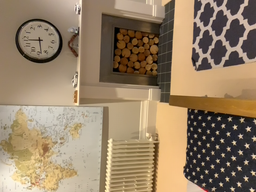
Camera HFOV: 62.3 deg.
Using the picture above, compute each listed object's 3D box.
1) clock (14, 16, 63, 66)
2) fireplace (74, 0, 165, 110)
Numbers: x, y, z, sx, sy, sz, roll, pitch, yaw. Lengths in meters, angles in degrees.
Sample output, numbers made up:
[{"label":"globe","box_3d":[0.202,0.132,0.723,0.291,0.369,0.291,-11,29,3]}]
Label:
[{"label":"clock","box_3d":[-1.150,-0.700,2.750,0.030,0.560,0.560,-175,87,-69]},{"label":"fireplace","box_3d":[-0.100,-0.670,3.110,0.220,1.260,1.710,-176,89,-69]}]
